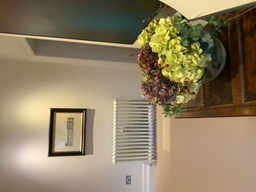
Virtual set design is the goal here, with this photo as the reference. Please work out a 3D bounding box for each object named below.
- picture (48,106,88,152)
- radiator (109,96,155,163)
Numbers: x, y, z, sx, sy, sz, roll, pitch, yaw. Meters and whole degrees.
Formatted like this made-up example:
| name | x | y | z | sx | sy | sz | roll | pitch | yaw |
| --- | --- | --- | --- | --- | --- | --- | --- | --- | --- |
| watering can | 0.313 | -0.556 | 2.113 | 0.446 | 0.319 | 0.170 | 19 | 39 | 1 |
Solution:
| name | x | y | z | sx | sy | sz | roll | pitch | yaw |
| --- | --- | --- | --- | --- | --- | --- | --- | --- | --- |
| picture | -1.000 | 0.550 | 3.570 | 0.050 | 0.610 | 0.750 | 162 | 109 | -74 |
| radiator | 0.080 | 0.570 | 3.730 | 0.180 | 0.780 | 1.120 | 167 | 105 | -75 |
